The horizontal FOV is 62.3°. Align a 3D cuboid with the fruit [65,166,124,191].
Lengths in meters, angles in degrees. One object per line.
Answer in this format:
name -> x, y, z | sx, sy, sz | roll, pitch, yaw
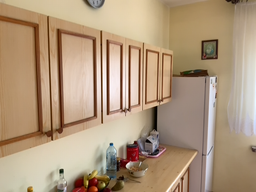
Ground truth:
fruit -> -0.240, 0.710, 1.650 | 0.240, 0.120, 0.450 | 2, 6, 26
